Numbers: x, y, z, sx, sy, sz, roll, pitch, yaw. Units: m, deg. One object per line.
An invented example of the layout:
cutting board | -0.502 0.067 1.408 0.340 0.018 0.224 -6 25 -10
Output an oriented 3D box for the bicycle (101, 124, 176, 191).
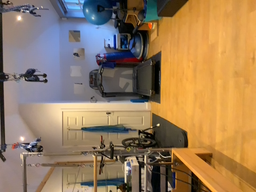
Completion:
bicycle | 0.040 0.960 3.770 1.770 1.030 0.530 -140 50 -81
